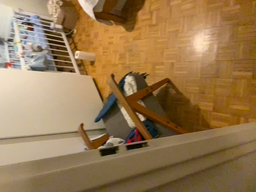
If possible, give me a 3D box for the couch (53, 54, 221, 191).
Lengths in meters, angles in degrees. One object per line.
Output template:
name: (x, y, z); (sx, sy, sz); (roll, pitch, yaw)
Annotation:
couch: (0.010, 0.240, 1.520); (0.620, 0.770, 0.760); (-50, 53, 39)
